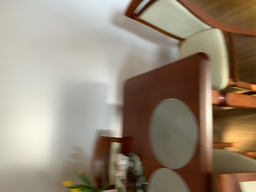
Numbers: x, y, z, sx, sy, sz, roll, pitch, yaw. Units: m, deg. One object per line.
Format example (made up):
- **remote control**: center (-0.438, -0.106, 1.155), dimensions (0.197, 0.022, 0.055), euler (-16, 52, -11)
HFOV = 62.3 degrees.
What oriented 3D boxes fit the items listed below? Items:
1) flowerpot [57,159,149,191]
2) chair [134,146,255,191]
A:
- **flowerpot**: center (-0.190, 0.650, 1.420), dimensions (0.440, 0.470, 0.330), euler (-4, 82, 61)
- **chair**: center (0.550, 0.490, 1.050), dimensions (0.510, 0.910, 0.410), euler (-15, 72, 60)
